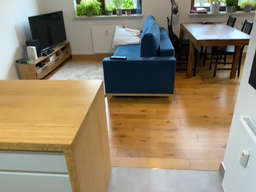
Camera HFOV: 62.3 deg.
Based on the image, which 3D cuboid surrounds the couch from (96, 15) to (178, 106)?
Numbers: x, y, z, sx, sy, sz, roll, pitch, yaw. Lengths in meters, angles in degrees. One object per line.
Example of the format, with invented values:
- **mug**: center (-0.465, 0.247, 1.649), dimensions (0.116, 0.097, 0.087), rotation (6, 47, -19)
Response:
- **couch**: center (0.210, -0.790, 3.750), dimensions (0.990, 0.910, 2.230), rotation (1, 28, 5)

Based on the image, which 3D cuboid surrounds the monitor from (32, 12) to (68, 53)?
- **monitor**: center (-1.550, -1.320, 4.320), dimensions (0.080, 0.630, 0.920), rotation (6, 29, 15)
